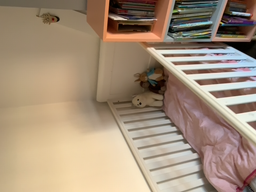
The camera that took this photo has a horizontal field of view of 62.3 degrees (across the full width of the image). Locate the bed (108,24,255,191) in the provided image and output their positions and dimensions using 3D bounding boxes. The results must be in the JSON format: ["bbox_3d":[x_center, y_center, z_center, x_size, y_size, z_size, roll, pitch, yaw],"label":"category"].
[{"bbox_3d":[0.510,0.100,1.440,1.410,0.860,0.750,-125,36,-50],"label":"bed"}]
